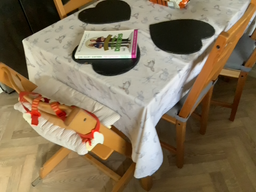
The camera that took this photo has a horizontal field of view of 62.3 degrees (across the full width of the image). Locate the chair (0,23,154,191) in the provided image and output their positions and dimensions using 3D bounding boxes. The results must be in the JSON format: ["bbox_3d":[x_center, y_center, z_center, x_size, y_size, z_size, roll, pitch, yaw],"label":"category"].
[{"bbox_3d":[-0.240,0.170,1.060,0.500,0.780,0.530,28,54,28],"label":"chair"}]

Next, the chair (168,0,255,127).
[{"bbox_3d":[0.570,-0.320,1.360,0.410,0.960,0.410,24,52,26],"label":"chair"}]
